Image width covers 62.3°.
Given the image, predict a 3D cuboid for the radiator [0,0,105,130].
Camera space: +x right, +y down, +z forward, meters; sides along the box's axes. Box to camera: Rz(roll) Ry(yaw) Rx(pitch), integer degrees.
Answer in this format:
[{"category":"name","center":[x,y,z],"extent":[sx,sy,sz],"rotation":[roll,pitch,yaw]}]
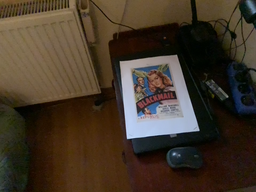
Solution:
[{"category":"radiator","center":[-0.660,-0.110,1.110],"extent":[0.950,0.830,0.200],"rotation":[-9,58,-2]}]
